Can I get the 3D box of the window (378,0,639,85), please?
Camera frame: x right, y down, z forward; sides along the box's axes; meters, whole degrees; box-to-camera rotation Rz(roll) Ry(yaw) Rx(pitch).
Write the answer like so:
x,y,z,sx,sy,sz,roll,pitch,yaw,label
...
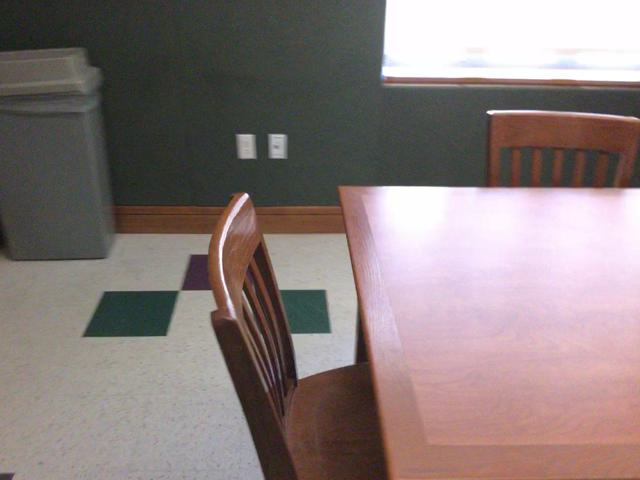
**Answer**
x,y,z,sx,sy,sz,roll,pitch,yaw,label
0.990,-1.110,2.480,1.430,0.830,0.140,-2,28,-4,window
